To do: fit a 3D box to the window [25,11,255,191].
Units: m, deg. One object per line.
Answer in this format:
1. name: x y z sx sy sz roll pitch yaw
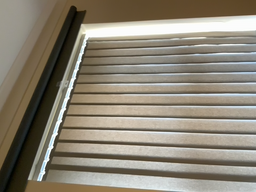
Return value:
1. window: 0.260 -0.100 1.190 0.020 1.330 1.180 79 -165 -54
